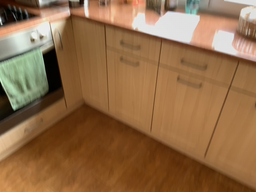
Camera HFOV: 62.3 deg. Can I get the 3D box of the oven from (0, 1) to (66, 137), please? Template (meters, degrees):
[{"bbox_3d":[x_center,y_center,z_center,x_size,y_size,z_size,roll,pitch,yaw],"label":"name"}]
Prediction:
[{"bbox_3d":[-0.900,-0.220,1.440,0.600,0.620,0.590,22,41,25],"label":"oven"}]

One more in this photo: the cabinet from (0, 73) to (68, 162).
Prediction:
[{"bbox_3d":[-0.920,0.120,1.700,0.580,0.220,0.590,22,41,25],"label":"cabinet"}]

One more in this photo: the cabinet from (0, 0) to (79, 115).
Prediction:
[{"bbox_3d":[-0.710,-0.300,1.750,0.590,0.840,0.120,22,41,25],"label":"cabinet"}]
